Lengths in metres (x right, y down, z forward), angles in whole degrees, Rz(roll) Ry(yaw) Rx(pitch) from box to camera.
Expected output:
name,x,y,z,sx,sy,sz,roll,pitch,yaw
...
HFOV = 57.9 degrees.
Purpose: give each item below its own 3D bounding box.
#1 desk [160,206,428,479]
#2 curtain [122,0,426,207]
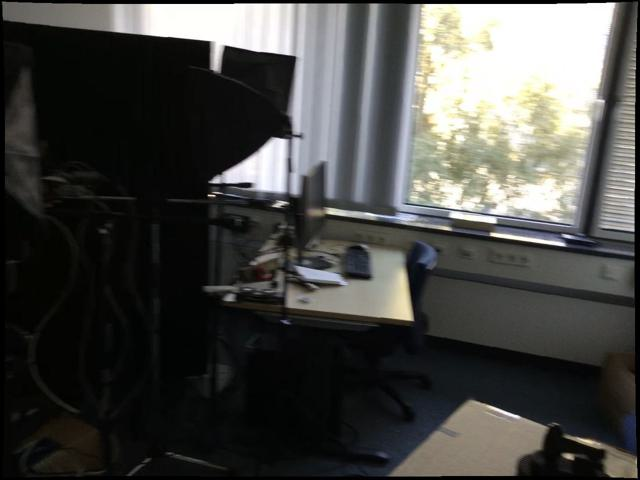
name,x,y,z,sx,sy,sz,roll,pitch,yaw
desk,-0.030,0.400,2.950,0.959,0.761,1.380,8,17,13
curtain,-0.330,-1.011,3.480,1.798,1.401,0.190,8,17,13
